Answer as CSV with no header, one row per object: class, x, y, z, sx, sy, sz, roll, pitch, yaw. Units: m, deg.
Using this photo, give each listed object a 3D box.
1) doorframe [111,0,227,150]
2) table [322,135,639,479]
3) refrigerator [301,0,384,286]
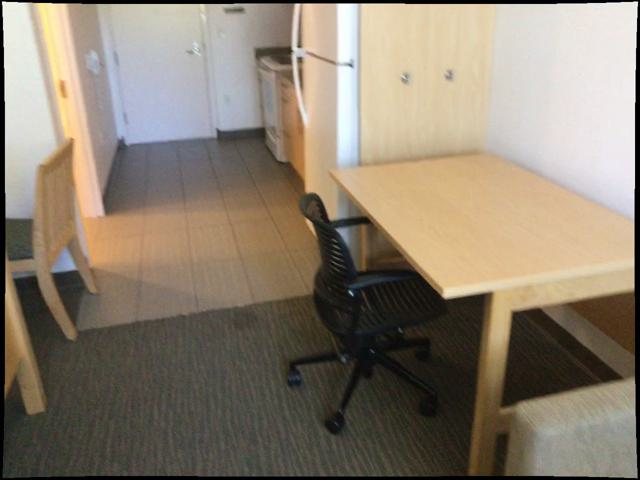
doorframe,-1.518,-2.102,5.780,0.969,2.302,0.350,-6,26,-12
table,0.619,0.130,2.390,0.929,0.741,1.380,-6,25,-12
refrigerator,0.090,-0.681,3.050,0.220,1.681,0.740,-6,25,-12
